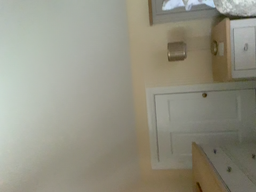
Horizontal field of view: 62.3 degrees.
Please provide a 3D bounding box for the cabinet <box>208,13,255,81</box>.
[{"bbox_3d":[1.050,-0.370,1.690,0.490,0.650,0.450,-39,-55,-82],"label":"cabinet"}]
